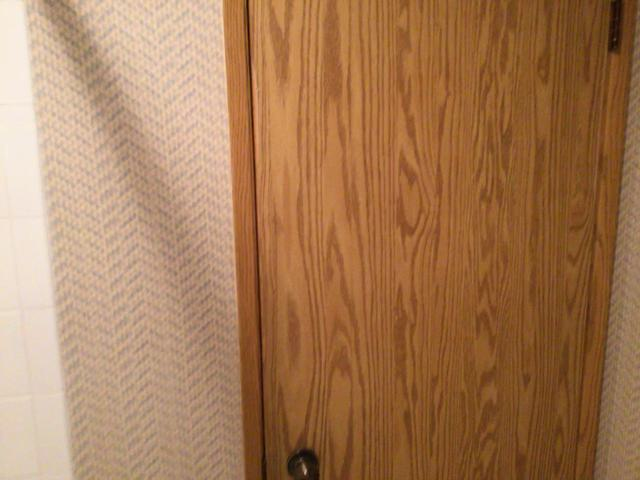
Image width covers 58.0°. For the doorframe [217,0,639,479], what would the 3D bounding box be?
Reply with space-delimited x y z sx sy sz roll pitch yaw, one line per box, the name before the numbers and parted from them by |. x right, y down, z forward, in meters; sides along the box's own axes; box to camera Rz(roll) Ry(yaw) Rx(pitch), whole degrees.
doorframe | 0.240 0.410 1.160 0.860 1.800 0.040 -2 12 -14
